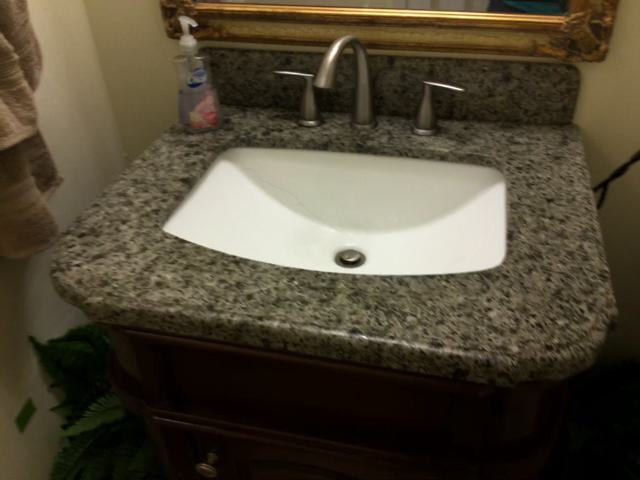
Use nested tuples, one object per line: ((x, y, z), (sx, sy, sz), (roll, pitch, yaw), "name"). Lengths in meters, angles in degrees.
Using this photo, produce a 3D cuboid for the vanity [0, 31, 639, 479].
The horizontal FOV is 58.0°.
((0.050, 0.240, 1.060), (0.710, 1.020, 0.590), (6, 38, 12), "vanity")
